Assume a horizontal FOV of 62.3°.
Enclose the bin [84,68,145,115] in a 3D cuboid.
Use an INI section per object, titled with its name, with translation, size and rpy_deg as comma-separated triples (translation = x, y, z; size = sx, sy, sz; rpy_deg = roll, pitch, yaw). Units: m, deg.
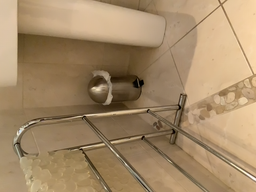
[bin]
translation = -0.090, -0.040, 1.330
size = 0.190, 0.300, 0.230
rpy_deg = 32, 118, 50
